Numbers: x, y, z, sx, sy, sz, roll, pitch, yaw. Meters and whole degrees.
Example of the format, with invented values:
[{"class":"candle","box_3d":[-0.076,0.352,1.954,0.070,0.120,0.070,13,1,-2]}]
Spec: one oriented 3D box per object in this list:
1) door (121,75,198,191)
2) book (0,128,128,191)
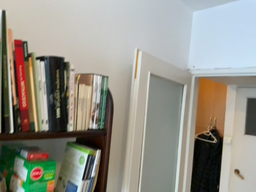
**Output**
[{"class":"door","box_3d":[0.180,0.840,1.310,0.100,1.850,0.690,5,-1,38]},{"class":"book","box_3d":[-0.290,0.240,0.700,0.270,0.210,0.540,5,-2,42]}]
